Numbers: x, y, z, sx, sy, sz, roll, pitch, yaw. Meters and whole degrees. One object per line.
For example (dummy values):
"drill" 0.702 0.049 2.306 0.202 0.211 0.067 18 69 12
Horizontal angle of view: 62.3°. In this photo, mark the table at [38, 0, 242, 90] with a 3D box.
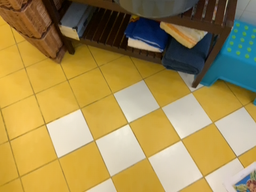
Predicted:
"table" 0.060 -0.410 1.110 0.820 0.500 0.390 15 68 8
